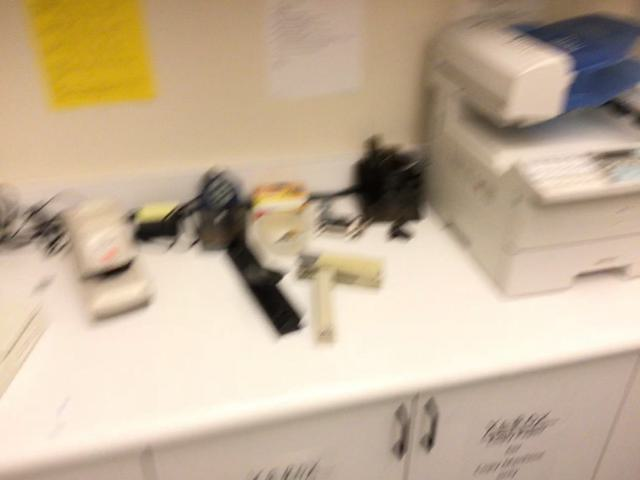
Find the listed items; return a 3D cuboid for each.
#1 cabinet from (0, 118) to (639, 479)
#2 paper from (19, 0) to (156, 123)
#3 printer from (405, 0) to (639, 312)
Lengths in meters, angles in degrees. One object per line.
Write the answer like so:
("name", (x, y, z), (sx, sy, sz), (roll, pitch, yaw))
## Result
("cabinet", (0.120, 0.380, 1.360), (2.640, 0.930, 0.690), (-9, 32, -10))
("paper", (-0.450, -0.370, 1.150), (0.200, 0.250, 0.040), (-9, 32, -10))
("printer", (0.510, -0.220, 1.200), (0.490, 0.420, 0.530), (-9, 32, -10))
